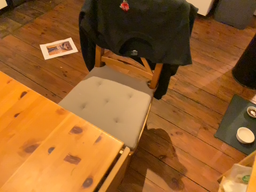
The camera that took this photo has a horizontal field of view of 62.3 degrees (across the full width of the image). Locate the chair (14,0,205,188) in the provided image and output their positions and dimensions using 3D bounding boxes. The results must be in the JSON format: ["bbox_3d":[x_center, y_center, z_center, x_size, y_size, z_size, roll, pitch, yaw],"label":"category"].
[{"bbox_3d":[-0.050,0.000,1.100,0.470,0.910,0.530,22,54,11],"label":"chair"}]
